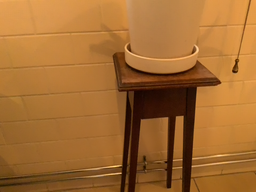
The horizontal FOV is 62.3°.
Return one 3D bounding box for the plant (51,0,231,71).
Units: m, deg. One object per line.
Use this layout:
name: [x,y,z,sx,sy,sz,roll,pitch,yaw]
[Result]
plant: [0.020,-0.250,0.460,0.330,0.320,0.200,-3,29,-4]
